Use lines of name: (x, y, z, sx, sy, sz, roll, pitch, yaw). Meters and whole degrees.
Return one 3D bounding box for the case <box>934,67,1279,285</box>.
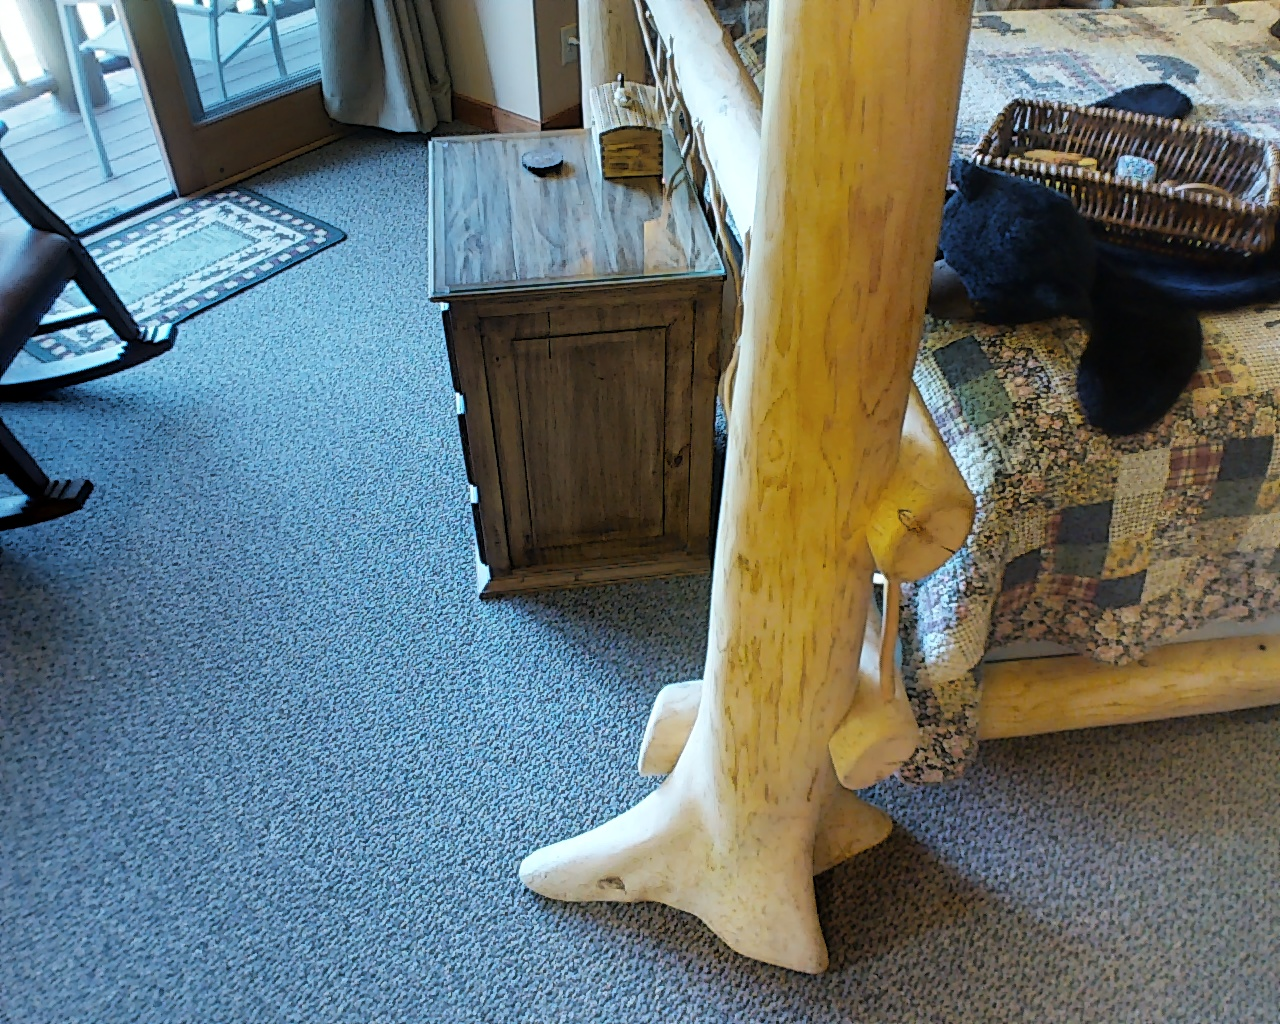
case: (0.740, -0.530, 1.650, 0.490, 0.110, 0.350, 16, 45, 16)
